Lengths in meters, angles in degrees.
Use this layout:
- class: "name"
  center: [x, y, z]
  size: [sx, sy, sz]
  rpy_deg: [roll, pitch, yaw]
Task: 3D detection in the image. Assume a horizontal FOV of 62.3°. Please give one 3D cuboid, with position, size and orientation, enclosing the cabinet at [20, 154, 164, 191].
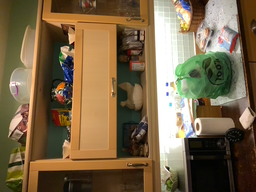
- class: "cabinet"
  center: [-0.210, 0.610, 1.370]
  size: [0.320, 0.820, 0.420]
  rpy_deg: [121, 149, -77]

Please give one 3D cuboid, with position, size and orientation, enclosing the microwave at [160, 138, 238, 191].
- class: "microwave"
  center: [0.430, 0.540, 1.370]
  size: [0.400, 0.330, 0.520]
  rpy_deg: [123, 147, -78]
